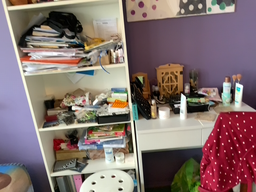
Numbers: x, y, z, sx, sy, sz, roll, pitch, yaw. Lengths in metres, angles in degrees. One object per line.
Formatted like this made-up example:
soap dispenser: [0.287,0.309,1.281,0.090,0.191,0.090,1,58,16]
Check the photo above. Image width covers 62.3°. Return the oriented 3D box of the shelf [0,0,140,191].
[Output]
shelf: [-0.290,-0.010,1.380,0.610,1.810,0.290,-5,19,0]

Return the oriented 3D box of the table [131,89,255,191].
table: [0.430,0.430,1.470,0.740,0.790,0.460,-5,19,0]
